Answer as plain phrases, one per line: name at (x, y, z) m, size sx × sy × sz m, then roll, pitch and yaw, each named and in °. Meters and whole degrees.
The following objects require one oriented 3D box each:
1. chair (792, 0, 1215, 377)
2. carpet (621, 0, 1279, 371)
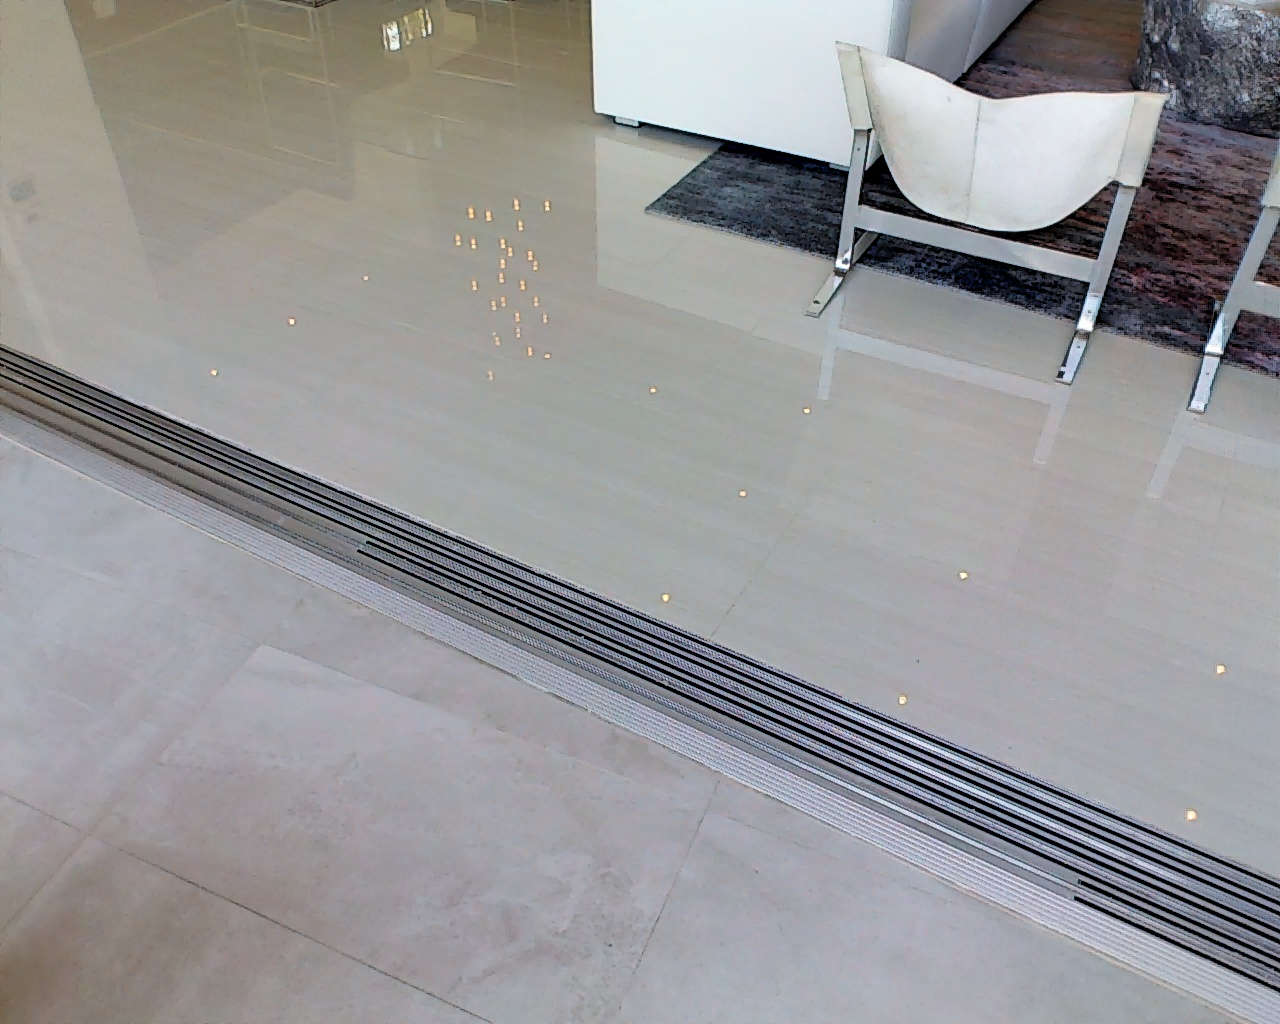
chair at (0.910, -0.910, 2.780) m, size 0.760 × 0.690 × 0.670 m, roll 21°, pitch 46°, yaw 22°
carpet at (2.240, -1.690, 4.200) m, size 3.010 × 0.010 × 4.090 m, roll 20°, pitch 46°, yaw 21°
